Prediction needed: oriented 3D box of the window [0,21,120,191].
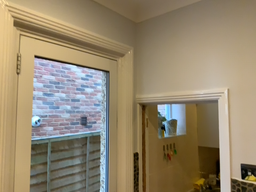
[{"bbox_3d":[-0.340,0.740,1.260,0.040,2.180,0.790,-4,-6,42],"label":"window"}]
